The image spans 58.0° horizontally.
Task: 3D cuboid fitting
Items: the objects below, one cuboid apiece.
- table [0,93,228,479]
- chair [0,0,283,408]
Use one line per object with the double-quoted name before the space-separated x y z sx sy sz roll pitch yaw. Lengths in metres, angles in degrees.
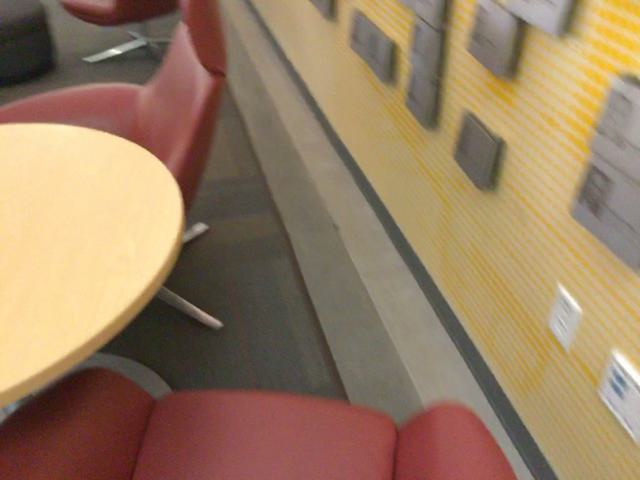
"table" -0.700 0.260 1.310 0.870 0.780 0.940 -7 41 -13
"chair" -0.660 -0.280 1.730 0.830 1.050 0.880 -12 42 -19
